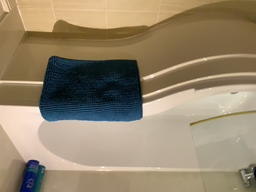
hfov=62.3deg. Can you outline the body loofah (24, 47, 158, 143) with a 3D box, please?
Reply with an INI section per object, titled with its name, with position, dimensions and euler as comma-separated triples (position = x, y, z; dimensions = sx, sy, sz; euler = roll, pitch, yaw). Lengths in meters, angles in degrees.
[body loofah]
position = -0.170, 0.000, 1.140
dimensions = 0.560, 0.370, 0.320
euler = 3, 138, -5
